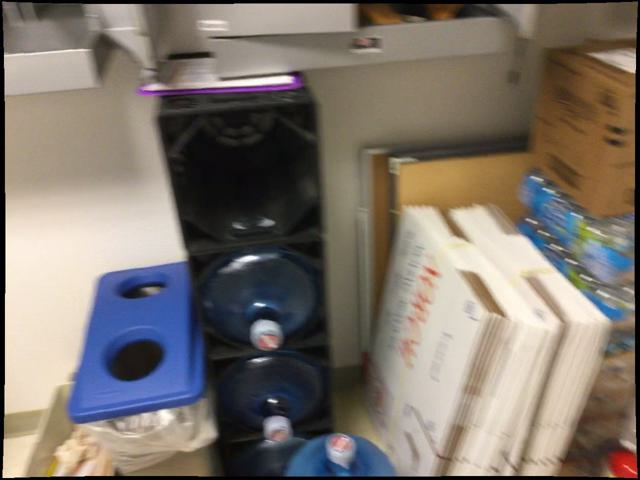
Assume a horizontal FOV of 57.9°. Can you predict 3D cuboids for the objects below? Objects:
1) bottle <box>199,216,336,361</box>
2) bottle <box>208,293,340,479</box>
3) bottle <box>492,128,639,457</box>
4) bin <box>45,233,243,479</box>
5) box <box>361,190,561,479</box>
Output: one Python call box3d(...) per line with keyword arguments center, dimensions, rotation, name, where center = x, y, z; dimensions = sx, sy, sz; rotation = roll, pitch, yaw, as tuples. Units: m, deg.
box3d(center=(-0.120, 0.100, 1.290), dimensions=(0.270, 0.180, 0.240), rotation=(-7, 34, -7), name="bottle")
box3d(center=(-0.110, 0.390, 1.460), dimensions=(0.280, 0.440, 0.220), rotation=(-7, 34, -7), name="bottle")
box3d(center=(0.719, 0.140, 1.570), dimensions=(0.220, 0.731, 0.480), rotation=(-7, 34, -7), name="bottle")
box3d(center=(-0.410, 0.440, 1.570), dimensions=(0.330, 0.670, 0.600), rotation=(-7, 34, -7), name="bin")
box3d(center=(0.310, 0.330, 1.570), dimensions=(0.270, 0.720, 0.570), rotation=(-7, 34, -7), name="box")
